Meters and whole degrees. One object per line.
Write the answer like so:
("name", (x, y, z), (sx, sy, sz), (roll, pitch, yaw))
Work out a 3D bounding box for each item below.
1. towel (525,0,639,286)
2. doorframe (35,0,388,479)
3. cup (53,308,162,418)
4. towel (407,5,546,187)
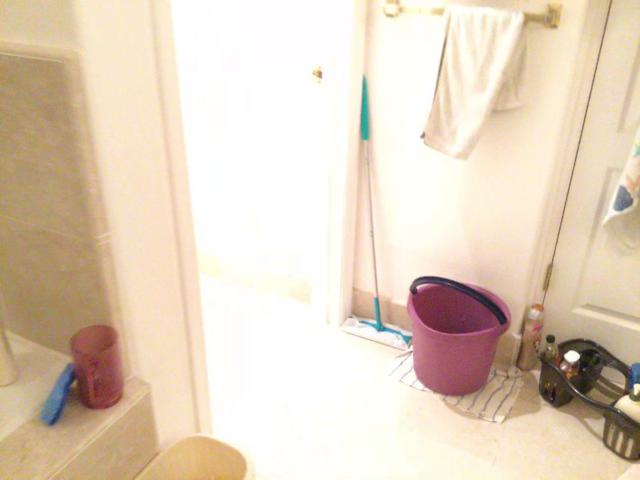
("towel", (0.830, -0.480, 1.370), (0.420, 1.220, 0.210), (14, 30, 24))
("doorframe", (-0.150, -0.190, 1.520), (0.260, 1.490, 0.980), (14, 30, 24))
("cup", (-0.400, 0.230, 1.100), (0.140, 0.130, 0.110), (14, 30, 24))
("towel", (0.420, -0.400, 1.600), (0.290, 0.440, 0.130), (14, 30, 24))
